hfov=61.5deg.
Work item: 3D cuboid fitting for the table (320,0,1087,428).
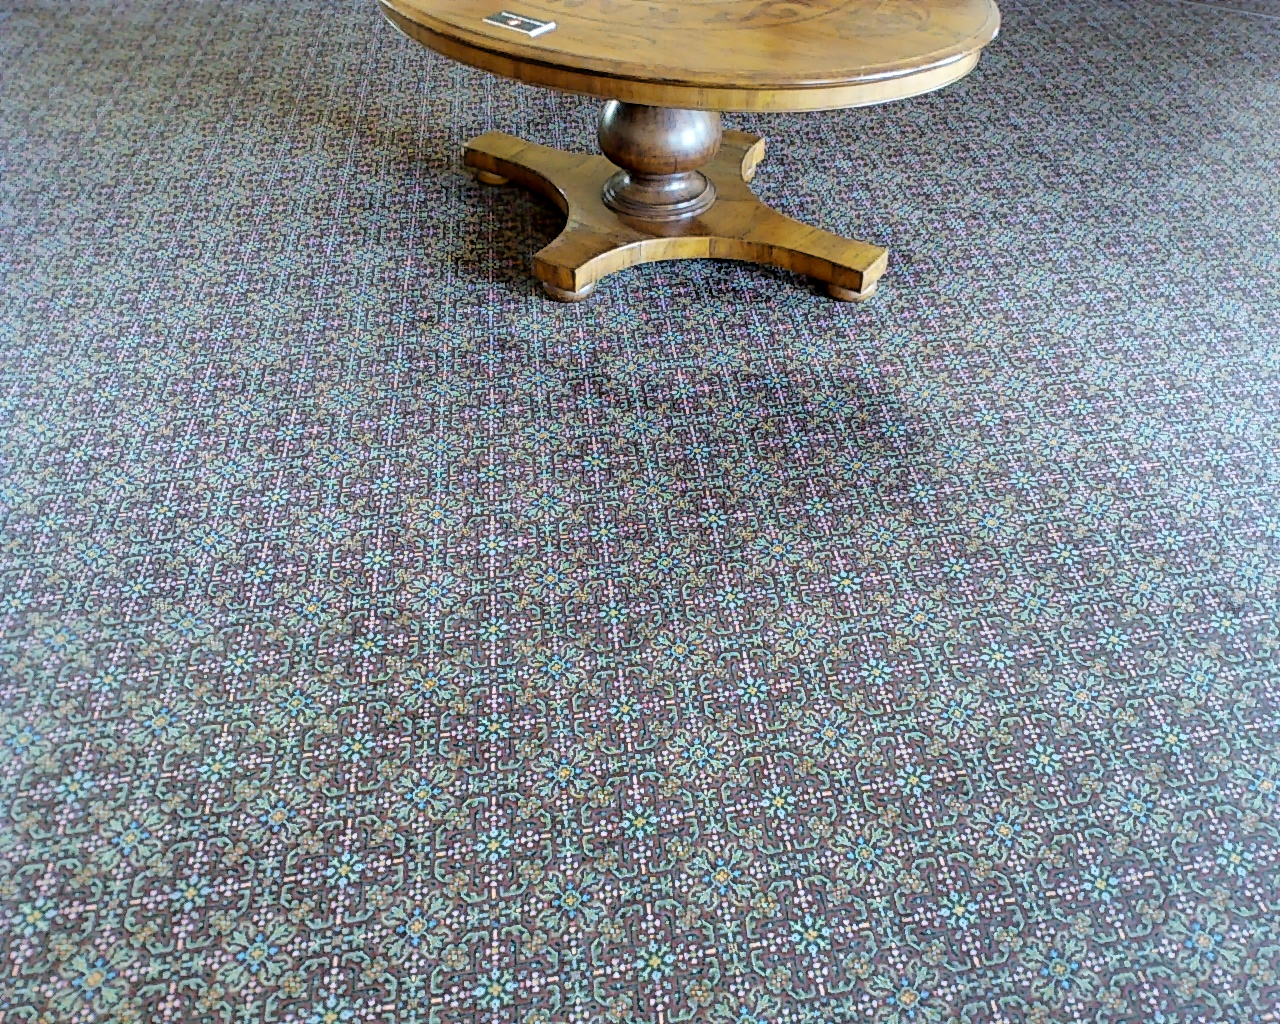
[{"bbox_3d":[0.040,-1.180,3.050,1.340,0.710,1.700,-22,47,-22],"label":"table"}]
